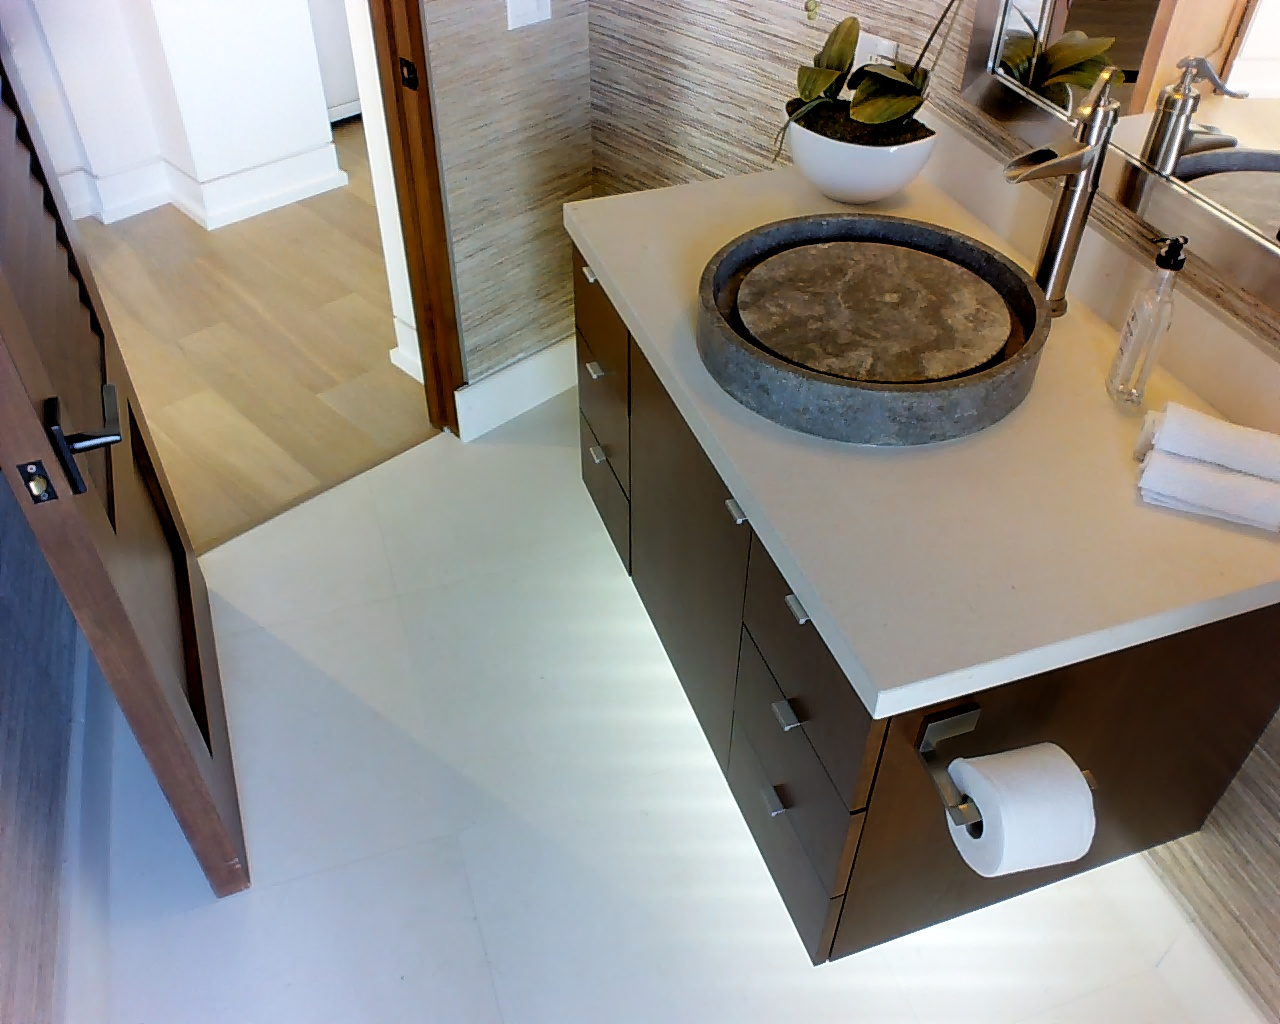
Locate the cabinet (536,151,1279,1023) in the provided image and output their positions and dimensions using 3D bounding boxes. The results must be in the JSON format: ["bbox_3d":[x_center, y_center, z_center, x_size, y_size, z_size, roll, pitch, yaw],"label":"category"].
[{"bbox_3d":[0.330,0.010,1.690,0.660,0.630,1.170,-13,44,-14],"label":"cabinet"}]
